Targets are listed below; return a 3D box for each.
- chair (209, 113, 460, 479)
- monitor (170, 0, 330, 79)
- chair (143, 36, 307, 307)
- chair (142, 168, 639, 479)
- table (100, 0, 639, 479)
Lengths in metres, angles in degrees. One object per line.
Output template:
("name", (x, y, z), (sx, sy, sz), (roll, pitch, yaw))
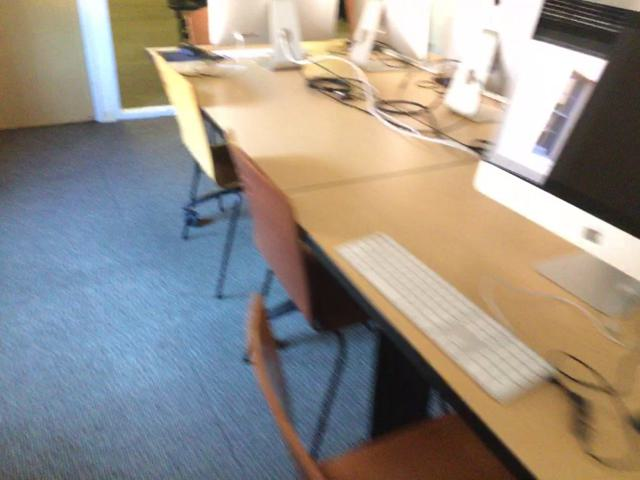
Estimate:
("chair", (0.000, 0.140, 1.480), (0.410, 0.780, 0.410), (-13, 34, -25))
("monitor", (-0.250, -0.860, 2.110), (0.540, 0.440, 0.210), (-13, 34, -25))
("chair", (-0.340, -0.260, 2.080), (0.390, 0.800, 0.470), (-13, 34, -25))
("chair", (0.090, 0.280, 0.800), (0.490, 0.540, 0.500), (-13, 34, -25))
("table", (0.700, 0.290, 1.020), (1.200, 1.060, 4.430), (-13, 34, -25))
